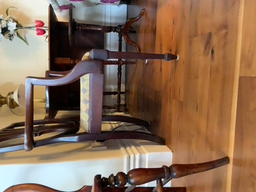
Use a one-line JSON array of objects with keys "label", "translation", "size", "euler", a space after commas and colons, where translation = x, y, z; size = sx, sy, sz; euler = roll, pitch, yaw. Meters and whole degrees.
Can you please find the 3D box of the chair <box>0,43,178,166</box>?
[{"label": "chair", "translation": [-0.300, 0.010, 1.200], "size": [0.530, 0.980, 0.520], "euler": [-148, 59, -76]}]
